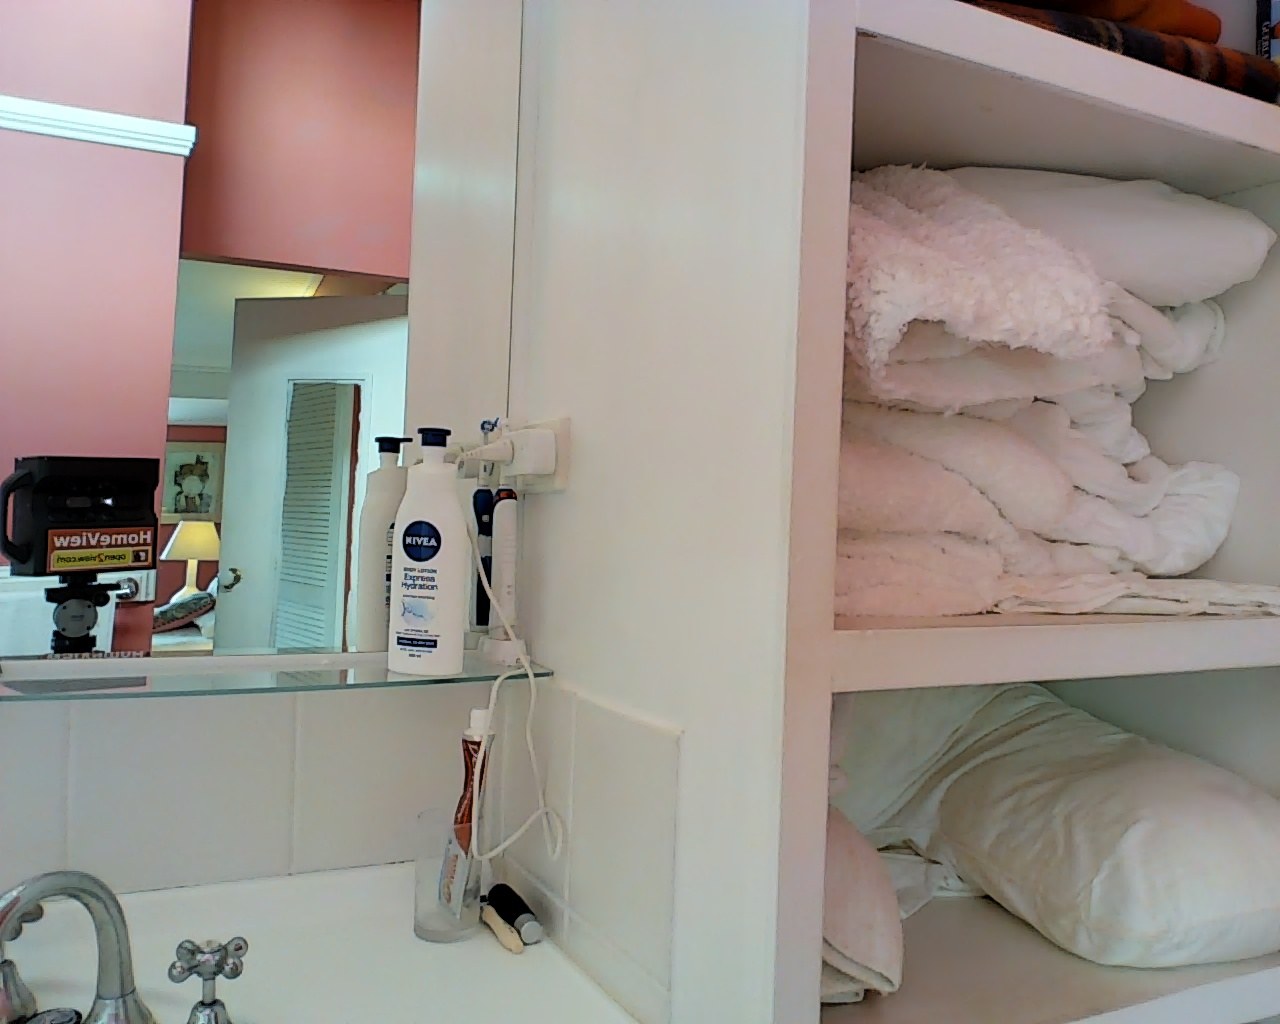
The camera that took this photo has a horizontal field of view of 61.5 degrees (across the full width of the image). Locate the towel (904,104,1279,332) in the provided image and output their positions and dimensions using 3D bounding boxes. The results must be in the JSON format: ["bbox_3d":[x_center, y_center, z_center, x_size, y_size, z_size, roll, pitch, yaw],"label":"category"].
[{"bbox_3d":[0.460,-0.280,1.080,0.360,0.140,0.150,2,-1,-25],"label":"towel"}]

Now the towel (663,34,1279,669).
[{"bbox_3d":[0.360,-0.100,0.990,0.600,0.430,0.290,2,-1,-26],"label":"towel"}]

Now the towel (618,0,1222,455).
[{"bbox_3d":[0.230,-0.210,0.970,0.370,0.280,0.370,2,-1,-26],"label":"towel"}]

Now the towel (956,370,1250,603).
[{"bbox_3d":[0.490,-0.020,1.140,0.260,0.220,0.150,2,-1,-26],"label":"towel"}]

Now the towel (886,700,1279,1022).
[{"bbox_3d":[0.480,0.320,1.090,0.280,0.190,0.360,2,-1,-26],"label":"towel"}]
